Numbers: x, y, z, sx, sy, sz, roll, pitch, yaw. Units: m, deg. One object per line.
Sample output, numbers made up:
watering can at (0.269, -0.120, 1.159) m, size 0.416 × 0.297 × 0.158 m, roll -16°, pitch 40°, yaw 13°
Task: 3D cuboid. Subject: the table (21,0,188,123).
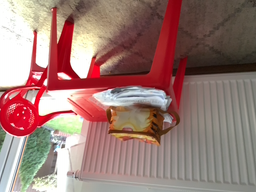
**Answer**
table at (-0.040, -0.140, 1.050) m, size 0.620 × 0.410 × 0.500 m, roll -2°, pitch 155°, yaw 18°
